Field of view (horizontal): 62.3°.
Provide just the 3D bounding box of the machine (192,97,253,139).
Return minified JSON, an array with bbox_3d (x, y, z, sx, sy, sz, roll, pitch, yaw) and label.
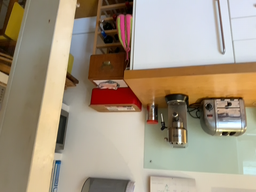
[{"bbox_3d":[0.590,0.150,1.380,0.310,0.220,0.240,-1,162,14],"label":"machine"}]
